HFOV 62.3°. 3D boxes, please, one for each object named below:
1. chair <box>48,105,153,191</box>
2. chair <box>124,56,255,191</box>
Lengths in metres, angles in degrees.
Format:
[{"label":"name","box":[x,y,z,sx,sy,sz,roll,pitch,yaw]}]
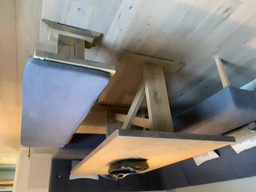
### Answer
[{"label":"chair","box":[-0.410,0.790,2.950,1.150,0.960,0.820,9,151,-25]},{"label":"chair","box":[0.760,0.590,2.710,0.690,0.970,2.220,9,151,-25]}]
